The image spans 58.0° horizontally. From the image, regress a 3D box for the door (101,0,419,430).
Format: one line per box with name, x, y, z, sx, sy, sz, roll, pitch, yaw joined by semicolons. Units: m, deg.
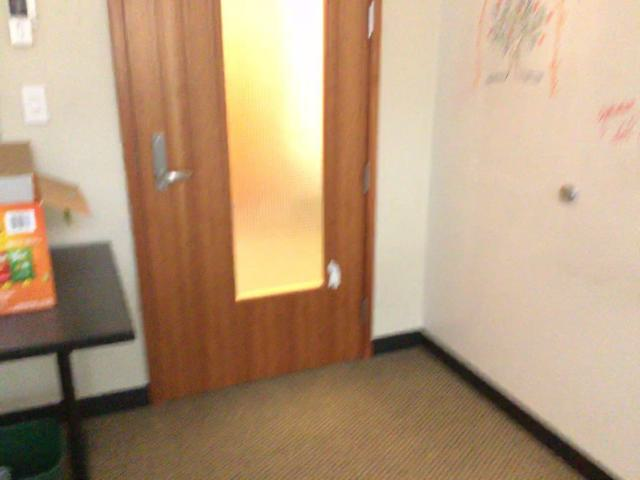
door;-0.180;-0.530;2.120;1.120;2.420;0.160;-5;17;-25
